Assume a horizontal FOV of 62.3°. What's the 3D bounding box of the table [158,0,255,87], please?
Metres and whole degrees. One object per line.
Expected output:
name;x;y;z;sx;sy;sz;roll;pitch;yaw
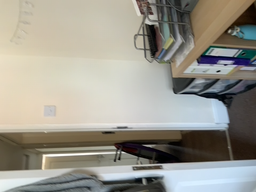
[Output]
table;0.700;-0.420;1.250;0.790;0.780;0.470;125;144;-68

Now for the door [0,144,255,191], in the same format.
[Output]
door;0.030;0.650;1.310;0.150;2.080;0.810;-106;21;-48
